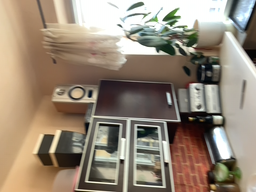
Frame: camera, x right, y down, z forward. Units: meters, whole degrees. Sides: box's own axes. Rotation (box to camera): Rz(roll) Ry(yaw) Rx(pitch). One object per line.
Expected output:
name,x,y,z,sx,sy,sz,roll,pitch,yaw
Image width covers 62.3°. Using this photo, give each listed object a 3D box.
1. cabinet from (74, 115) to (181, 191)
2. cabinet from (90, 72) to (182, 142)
cabinet,0.000,0.590,1.470,0.900,0.630,0.330,-88,-1,-48
cabinet,0.070,0.090,2.020,0.590,0.730,0.320,-88,-1,-48
